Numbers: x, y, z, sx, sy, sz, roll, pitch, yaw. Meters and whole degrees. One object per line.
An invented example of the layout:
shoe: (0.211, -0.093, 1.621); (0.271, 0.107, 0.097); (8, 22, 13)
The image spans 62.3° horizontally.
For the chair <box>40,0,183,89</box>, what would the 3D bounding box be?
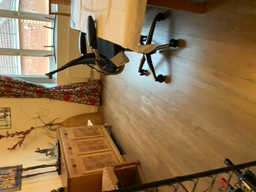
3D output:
chair: (-0.210, -0.510, 1.970); (0.720, 1.080, 0.710); (-144, 56, -60)

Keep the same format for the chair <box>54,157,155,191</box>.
chair: (-0.290, 1.140, 2.350); (0.530, 0.960, 0.550); (-137, 50, -57)
